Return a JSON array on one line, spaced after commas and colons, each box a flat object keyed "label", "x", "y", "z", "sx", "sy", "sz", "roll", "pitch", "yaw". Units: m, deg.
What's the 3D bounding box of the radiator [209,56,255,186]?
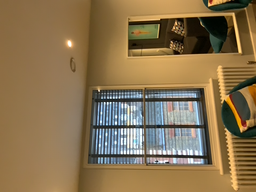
[{"label": "radiator", "x": 1.340, "y": 0.240, "z": 2.500, "sx": 0.160, "sy": 0.550, "sz": 1.500, "roll": 75, "pitch": -166, "yaw": -71}]
